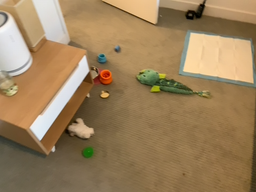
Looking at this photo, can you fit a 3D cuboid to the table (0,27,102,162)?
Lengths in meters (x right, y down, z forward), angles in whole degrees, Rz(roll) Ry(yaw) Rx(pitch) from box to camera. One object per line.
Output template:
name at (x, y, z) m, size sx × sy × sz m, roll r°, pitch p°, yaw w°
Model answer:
table at (-0.590, -0.030, 1.410) m, size 0.550 × 0.430 × 0.640 m, roll 17°, pitch 56°, yaw 14°
